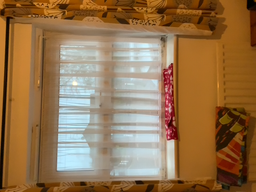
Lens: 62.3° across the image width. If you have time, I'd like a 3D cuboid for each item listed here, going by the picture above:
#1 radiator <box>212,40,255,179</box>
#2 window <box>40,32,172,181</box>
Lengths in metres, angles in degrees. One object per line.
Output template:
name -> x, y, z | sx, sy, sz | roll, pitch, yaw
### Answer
radiator -> 0.870, 0.080, 1.450 | 0.040, 0.570, 0.920 | 135, 136, -83
window -> -0.140, 0.070, 1.600 | 0.060, 0.940, 1.070 | 132, 139, -82
